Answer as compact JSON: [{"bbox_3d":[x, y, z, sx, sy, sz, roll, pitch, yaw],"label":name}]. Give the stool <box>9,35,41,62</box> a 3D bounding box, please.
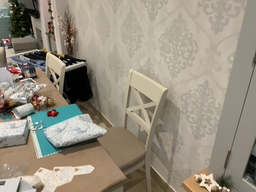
[{"bbox_3d":[-2.410,-1.130,4.970,0.540,0.420,0.600,-14,31,-27],"label":"stool"}]
